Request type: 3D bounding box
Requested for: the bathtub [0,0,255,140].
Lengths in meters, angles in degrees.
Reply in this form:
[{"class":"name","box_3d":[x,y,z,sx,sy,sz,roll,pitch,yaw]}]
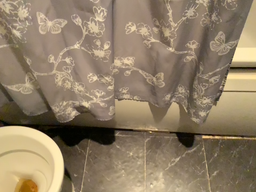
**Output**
[{"class":"bathtub","box_3d":[0.160,-0.230,1.110,1.680,0.580,0.720,1,56,3]}]
